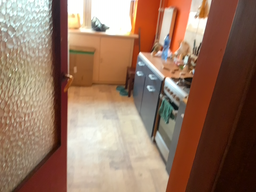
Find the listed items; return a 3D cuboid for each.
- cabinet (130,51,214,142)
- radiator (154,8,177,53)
[{"bbox_3d":[0.500,-0.060,3.020,0.630,0.850,1.210,2,23,-12],"label":"cabinet"},{"bbox_3d":[0.650,-1.160,3.740,0.100,0.700,0.470,1,23,-15],"label":"radiator"}]
